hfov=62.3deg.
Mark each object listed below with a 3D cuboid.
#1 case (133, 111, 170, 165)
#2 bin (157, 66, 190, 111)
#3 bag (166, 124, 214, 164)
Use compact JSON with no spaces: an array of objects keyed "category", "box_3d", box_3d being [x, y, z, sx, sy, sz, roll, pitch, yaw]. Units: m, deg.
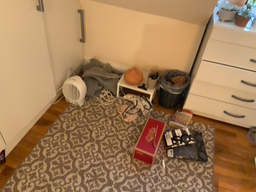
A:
[{"category":"case","box_3d":[0.170,0.280,1.490,0.170,0.100,0.350,16,42,10]},{"category":"bin","box_3d":[0.390,-0.070,1.820,0.190,0.240,0.260,15,42,9]},{"category":"bag","box_3d":[0.430,0.340,1.520,0.300,0.070,0.240,9,41,2]}]
